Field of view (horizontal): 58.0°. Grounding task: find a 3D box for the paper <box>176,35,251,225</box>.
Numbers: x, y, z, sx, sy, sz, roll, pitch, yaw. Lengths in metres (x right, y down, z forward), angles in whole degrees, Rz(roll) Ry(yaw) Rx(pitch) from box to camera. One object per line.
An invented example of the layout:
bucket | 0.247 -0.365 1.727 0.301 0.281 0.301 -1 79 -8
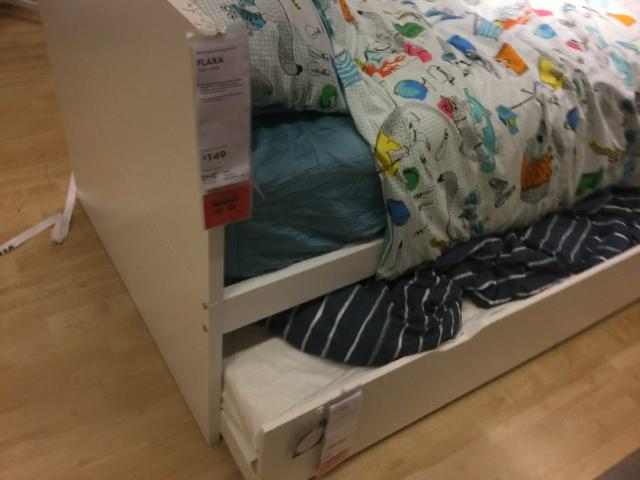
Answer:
paper | -0.140 -0.140 0.790 0.080 0.260 0.040 -21 50 -26

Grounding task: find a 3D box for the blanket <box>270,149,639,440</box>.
blanket | 0.690 -0.020 1.500 1.720 0.150 0.250 -21 50 -26
